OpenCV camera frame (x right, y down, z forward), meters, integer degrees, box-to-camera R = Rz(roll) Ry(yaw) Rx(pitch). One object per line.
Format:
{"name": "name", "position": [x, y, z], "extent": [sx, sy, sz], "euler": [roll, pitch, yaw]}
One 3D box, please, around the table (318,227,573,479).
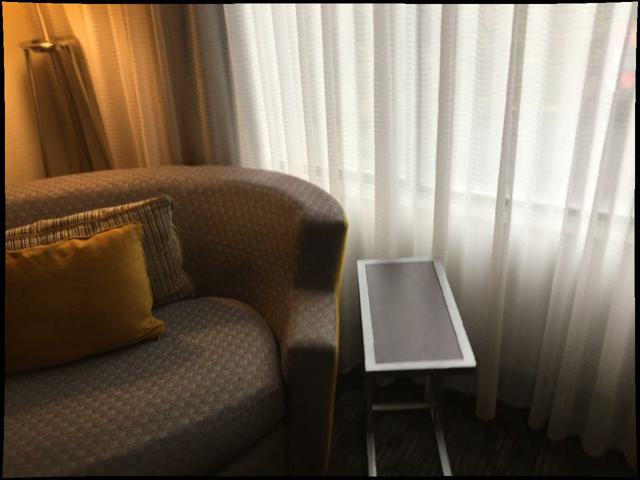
{"name": "table", "position": [0.300, 0.400, 1.710], "extent": [0.490, 0.590, 0.640], "euler": [-7, 30, -6]}
